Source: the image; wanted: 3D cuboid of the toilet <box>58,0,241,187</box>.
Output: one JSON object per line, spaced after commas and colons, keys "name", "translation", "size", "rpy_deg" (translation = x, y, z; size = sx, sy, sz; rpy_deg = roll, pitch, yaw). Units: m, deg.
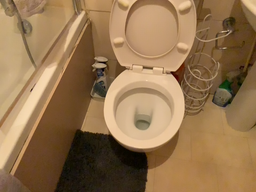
{"name": "toilet", "translation": [0.090, -0.060, 1.030], "size": [0.440, 0.800, 0.670], "rpy_deg": [6, 51, 5]}
